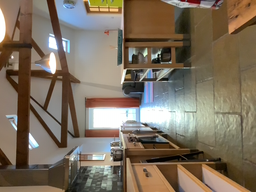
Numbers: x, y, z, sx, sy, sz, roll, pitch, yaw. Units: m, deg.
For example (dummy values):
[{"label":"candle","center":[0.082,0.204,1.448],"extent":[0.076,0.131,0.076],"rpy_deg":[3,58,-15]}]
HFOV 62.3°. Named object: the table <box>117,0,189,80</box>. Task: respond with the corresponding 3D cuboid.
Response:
[{"label":"table","center":[0.300,-0.930,3.510],"extent":[1.380,0.920,1.110],"rpy_deg":[130,139,-84]}]
